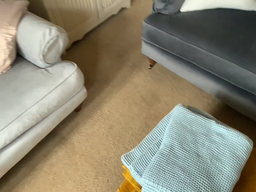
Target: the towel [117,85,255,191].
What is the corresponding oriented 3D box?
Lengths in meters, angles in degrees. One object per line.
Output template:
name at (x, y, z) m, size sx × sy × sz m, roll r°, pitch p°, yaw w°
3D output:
towel at (0.270, 0.240, 0.840) m, size 0.470 × 0.130 × 0.400 m, roll -40°, pitch 63°, yaw -23°
